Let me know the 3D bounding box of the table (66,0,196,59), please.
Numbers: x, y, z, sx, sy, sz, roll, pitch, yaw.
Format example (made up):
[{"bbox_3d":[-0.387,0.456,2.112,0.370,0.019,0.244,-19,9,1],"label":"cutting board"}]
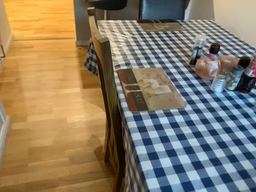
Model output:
[{"bbox_3d":[-0.050,-1.220,2.960,1.530,0.910,1.020,-7,39,-15],"label":"table"}]
